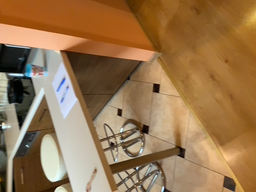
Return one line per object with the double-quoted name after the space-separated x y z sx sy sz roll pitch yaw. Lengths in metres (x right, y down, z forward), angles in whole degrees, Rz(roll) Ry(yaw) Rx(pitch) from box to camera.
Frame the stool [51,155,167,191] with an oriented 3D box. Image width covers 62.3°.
-0.140 0.780 1.690 0.350 0.850 0.330 -47 58 38 "stool"
